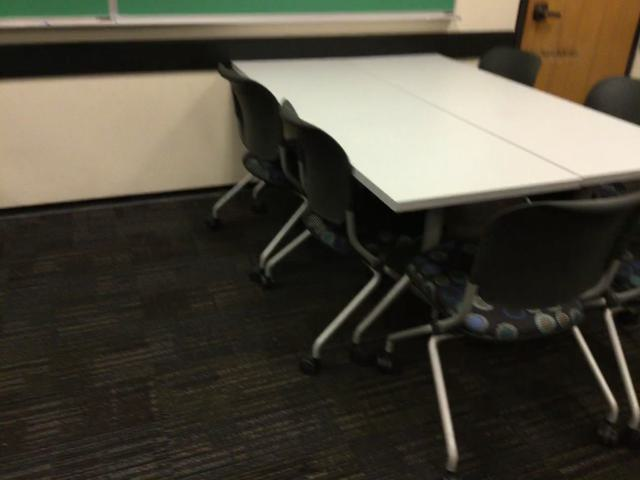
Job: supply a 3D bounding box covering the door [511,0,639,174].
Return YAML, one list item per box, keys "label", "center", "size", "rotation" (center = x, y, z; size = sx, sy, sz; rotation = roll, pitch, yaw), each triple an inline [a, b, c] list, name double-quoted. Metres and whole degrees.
- label: "door"
  center: [1.700, -1.530, 3.350]
  size: [0.900, 2.180, 0.290]
  rotation: [-12, 28, -19]
